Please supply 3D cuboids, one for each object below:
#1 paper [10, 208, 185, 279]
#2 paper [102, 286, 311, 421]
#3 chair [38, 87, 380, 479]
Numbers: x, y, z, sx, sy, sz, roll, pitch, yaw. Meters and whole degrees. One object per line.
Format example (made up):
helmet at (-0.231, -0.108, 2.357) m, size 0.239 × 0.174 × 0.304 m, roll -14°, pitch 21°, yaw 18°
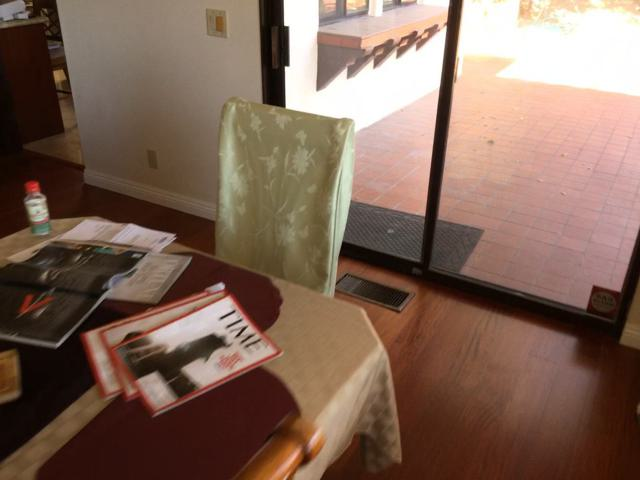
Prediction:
paper at (-0.560, 0.000, 1.480) m, size 0.350 × 0.030 × 0.230 m, roll 10°, pitch 26°, yaw 14°
paper at (-0.220, 0.200, 1.120) m, size 0.310 × 0.030 × 0.260 m, roll -16°, pitch 32°, yaw -35°
chair at (-0.260, 0.200, 1.630) m, size 0.530 × 1.080 × 0.630 m, roll 17°, pitch 29°, yaw 26°
